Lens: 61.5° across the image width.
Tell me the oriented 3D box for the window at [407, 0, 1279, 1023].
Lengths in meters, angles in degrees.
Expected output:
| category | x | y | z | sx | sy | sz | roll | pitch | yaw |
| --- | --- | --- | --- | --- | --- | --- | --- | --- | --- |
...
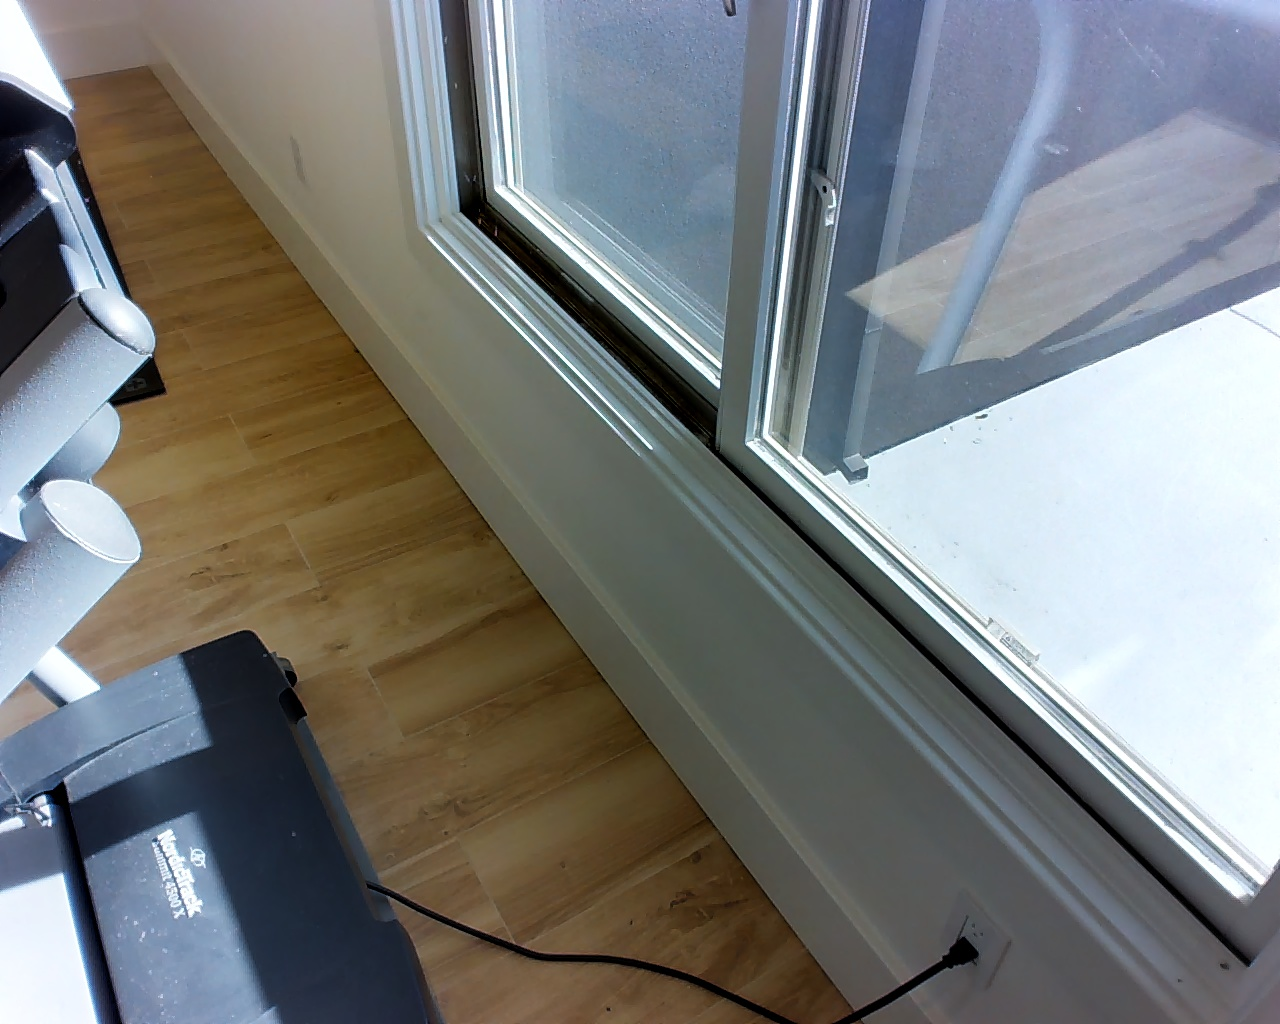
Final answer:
| category | x | y | z | sx | sy | sz | roll | pitch | yaw |
| --- | --- | --- | --- | --- | --- | --- | --- | --- | --- |
| window | 0.160 | -0.600 | 1.060 | 0.130 | 1.610 | 1.940 | -21 | 46 | -23 |
